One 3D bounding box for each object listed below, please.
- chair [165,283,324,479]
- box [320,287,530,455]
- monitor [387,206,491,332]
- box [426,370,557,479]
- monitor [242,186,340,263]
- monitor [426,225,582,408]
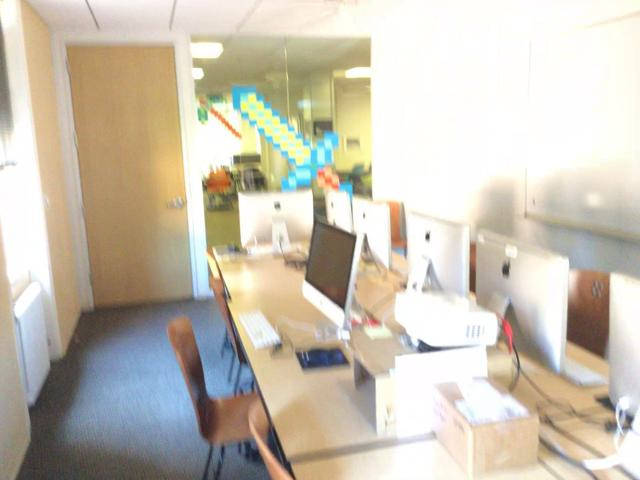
[{"bbox_3d":[-0.310,0.670,2.310,0.500,0.810,0.580,-7,12,-13],"label":"chair"},{"bbox_3d":[0.300,0.370,1.780,0.490,0.280,0.440,-7,12,-13],"label":"box"},{"bbox_3d":[0.500,0.100,2.500,0.230,0.410,0.520,-7,12,-13],"label":"monitor"},{"bbox_3d":[0.430,0.470,1.490,0.220,0.140,0.260,-7,12,-13],"label":"box"},{"bbox_3d":[-0.190,-0.110,3.840,0.600,0.430,0.180,-7,12,-13],"label":"monitor"},{"bbox_3d":[0.590,0.220,1.950,0.250,0.440,0.530,-7,12,-13],"label":"monitor"}]
